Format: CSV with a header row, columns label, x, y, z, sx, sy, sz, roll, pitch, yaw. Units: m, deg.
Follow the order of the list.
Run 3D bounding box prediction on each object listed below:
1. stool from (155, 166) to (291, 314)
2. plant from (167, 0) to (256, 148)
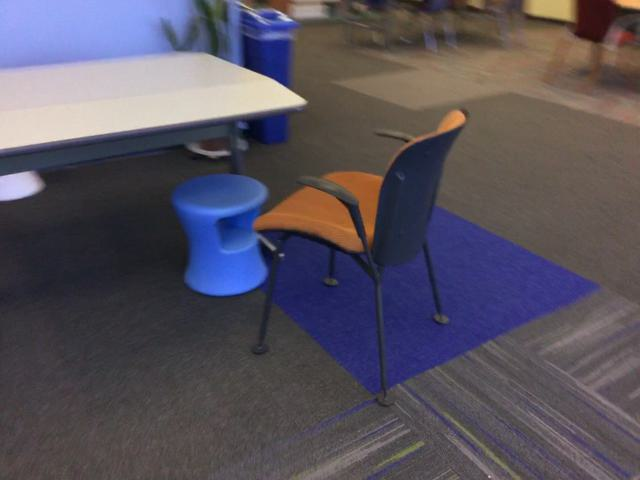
label,x,y,z,sx,sy,sz,roll,pitch,yaw
stool,-0.390,-0.020,2.270,0.380,0.410,0.370,-12,30,-34
plant,-0.620,-1.090,3.280,0.390,1.050,0.300,-12,30,-34
